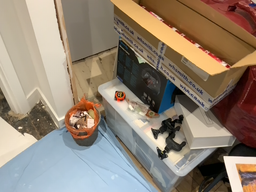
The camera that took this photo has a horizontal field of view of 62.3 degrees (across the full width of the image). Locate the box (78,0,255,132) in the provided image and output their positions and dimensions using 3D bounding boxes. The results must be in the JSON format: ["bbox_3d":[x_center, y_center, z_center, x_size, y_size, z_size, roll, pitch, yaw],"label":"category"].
[{"bbox_3d":[0.140,-0.360,1.110,0.370,0.410,1.000,-26,53,-27],"label":"box"}]

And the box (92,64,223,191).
[{"bbox_3d":[0.140,0.210,1.510,0.410,0.400,0.810,-26,52,-26],"label":"box"}]
